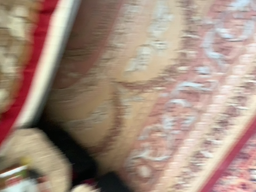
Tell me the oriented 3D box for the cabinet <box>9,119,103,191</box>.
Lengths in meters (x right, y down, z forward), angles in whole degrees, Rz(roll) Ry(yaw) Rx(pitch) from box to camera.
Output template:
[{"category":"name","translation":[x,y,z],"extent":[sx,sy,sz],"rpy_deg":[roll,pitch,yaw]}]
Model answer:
[{"category":"cabinet","translation":[-0.490,0.430,1.430],"extent":[0.520,0.300,0.250],"rpy_deg":[35,110,24]}]
